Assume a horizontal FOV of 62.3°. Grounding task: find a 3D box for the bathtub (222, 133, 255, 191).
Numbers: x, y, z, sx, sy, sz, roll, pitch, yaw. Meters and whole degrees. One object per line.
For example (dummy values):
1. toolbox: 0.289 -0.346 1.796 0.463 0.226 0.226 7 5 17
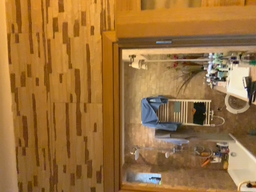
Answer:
1. bathtub: 2.030 1.150 3.350 1.680 0.530 0.710 -28 -62 -80
